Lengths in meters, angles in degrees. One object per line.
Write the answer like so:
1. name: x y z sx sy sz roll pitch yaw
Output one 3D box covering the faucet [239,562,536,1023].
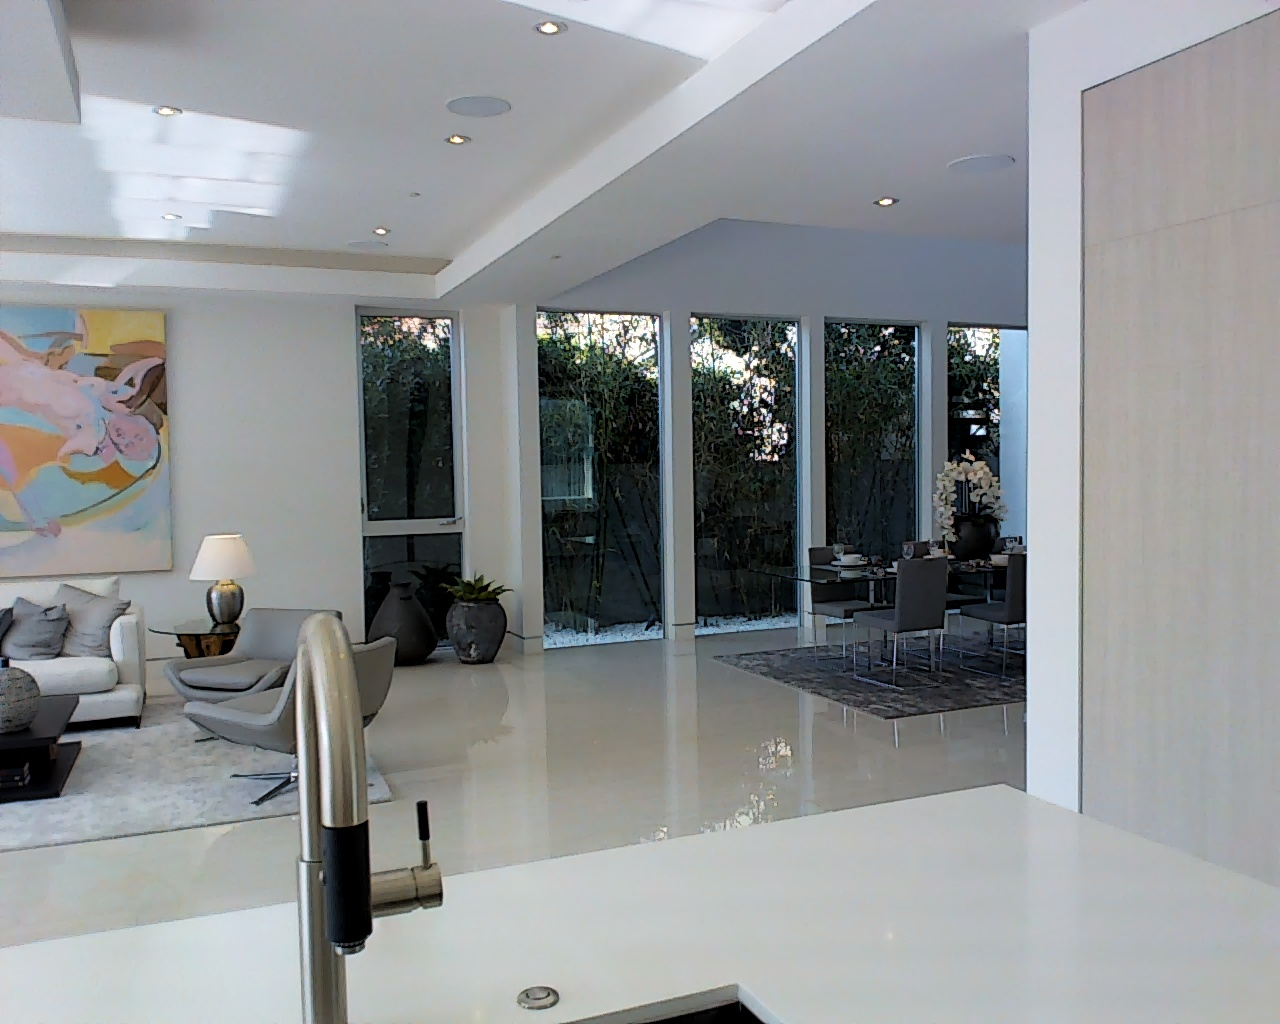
1. faucet: -0.250 0.300 1.010 0.210 0.470 0.330 -2 3 -22
